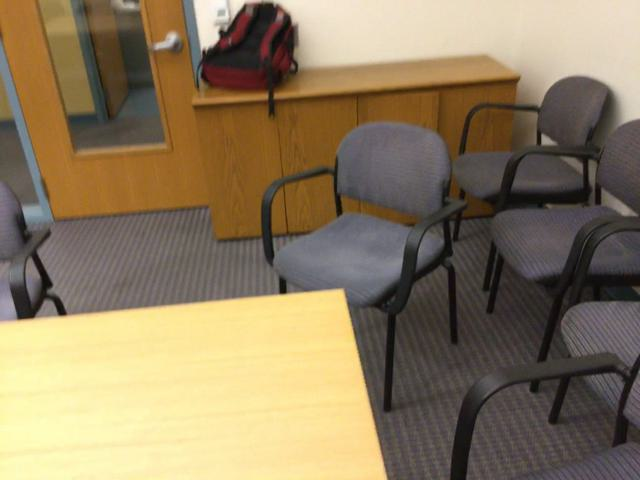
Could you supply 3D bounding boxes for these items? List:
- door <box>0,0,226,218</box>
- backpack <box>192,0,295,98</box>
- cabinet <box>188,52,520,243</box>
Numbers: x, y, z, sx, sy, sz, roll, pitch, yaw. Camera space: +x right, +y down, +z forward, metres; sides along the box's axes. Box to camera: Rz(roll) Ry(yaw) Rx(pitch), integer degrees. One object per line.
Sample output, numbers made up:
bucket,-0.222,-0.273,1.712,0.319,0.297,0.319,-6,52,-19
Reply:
door,-1.090,-0.900,2.910,1.050,1.630,0.170,-4,30,-4
backpack,-0.350,-0.920,2.740,0.420,0.340,0.460,-4,30,-4
cabinet,0.150,-0.500,3.030,1.510,0.770,0.540,-4,30,-4
